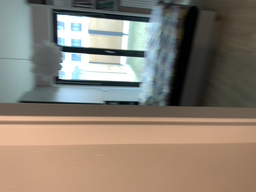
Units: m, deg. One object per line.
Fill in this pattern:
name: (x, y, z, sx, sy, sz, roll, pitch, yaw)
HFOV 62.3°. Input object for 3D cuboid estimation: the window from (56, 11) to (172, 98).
window: (-0.330, -0.820, 4.660, 0.210, 2.330, 1.730, -112, 26, -65)
